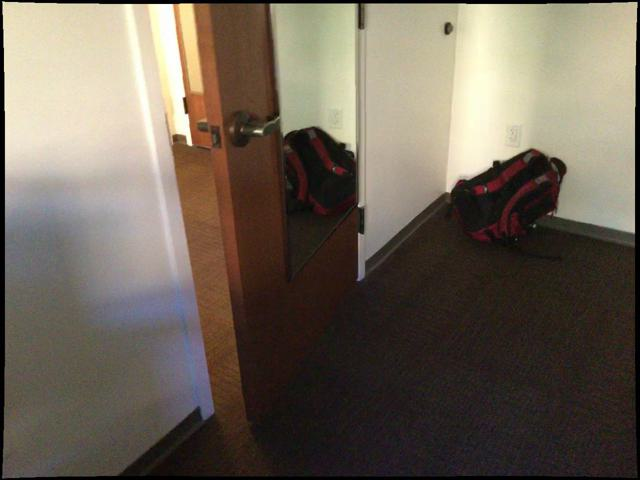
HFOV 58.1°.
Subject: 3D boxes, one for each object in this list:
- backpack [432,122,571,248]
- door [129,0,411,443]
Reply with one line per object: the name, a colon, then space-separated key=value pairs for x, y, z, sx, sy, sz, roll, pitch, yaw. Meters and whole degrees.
backpack: x=0.888 y=-0.261 z=2.820 sx=0.450 sy=0.390 sz=0.330 roll=-23 pitch=10 yaw=44
door: x=-0.040 y=-0.231 z=1.860 sx=0.240 sy=1.453 sz=0.960 roll=16 pitch=34 yaw=30
